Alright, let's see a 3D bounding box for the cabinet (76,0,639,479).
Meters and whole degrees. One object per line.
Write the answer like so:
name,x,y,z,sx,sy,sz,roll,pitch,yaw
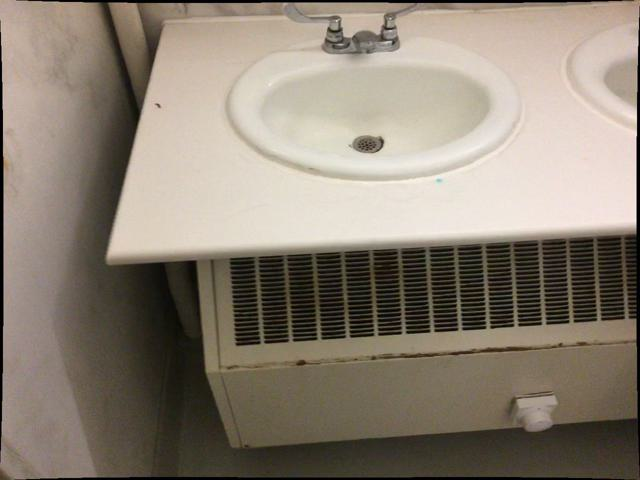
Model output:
cabinet,0.400,-0.050,1.250,1.469,0.710,0.730,-5,46,-4
